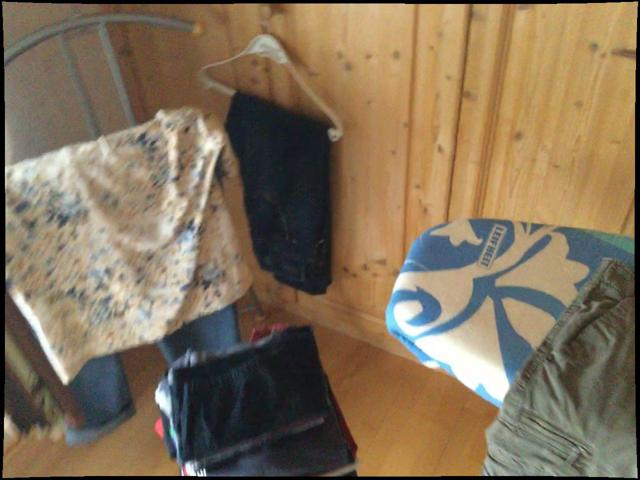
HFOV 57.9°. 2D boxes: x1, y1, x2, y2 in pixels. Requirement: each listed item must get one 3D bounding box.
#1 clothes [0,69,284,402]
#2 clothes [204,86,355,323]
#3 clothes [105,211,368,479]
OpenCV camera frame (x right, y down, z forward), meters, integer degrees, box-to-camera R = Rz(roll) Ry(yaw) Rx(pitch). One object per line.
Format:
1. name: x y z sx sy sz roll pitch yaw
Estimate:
1. clothes: -0.390 -0.010 1.170 0.540 0.460 0.230 -24 46 -19
2. clothes: -0.080 -0.070 1.480 0.290 0.580 0.140 19 49 24
3. clothes: -0.130 0.330 1.090 0.320 0.610 0.370 -17 44 -12
